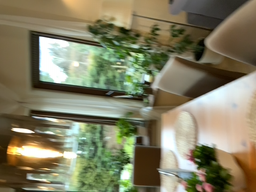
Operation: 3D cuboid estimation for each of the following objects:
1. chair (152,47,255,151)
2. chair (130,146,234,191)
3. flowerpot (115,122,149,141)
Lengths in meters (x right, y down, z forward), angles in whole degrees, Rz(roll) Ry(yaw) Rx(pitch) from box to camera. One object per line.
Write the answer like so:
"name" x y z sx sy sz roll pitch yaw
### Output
"chair" 0.730 0.070 1.680 0.500 0.940 0.560 118 156 -61
"chair" 0.540 0.770 2.270 0.560 0.910 0.390 136 139 -72
"flowerpot" 0.060 0.520 3.090 0.200 0.440 0.230 145 131 -75
